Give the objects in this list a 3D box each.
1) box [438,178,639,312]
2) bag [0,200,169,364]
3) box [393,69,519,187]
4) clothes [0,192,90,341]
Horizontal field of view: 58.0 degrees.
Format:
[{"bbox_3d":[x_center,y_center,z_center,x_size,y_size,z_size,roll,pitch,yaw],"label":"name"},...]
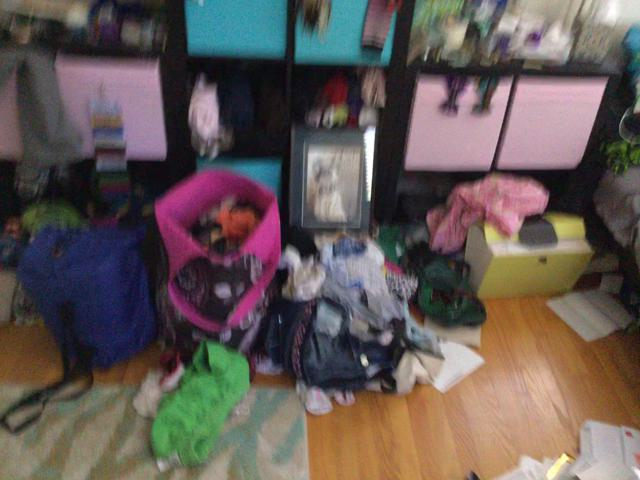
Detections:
[{"bbox_3d":[0.810,0.020,2.140,0.620,0.350,0.290,4,33,-5],"label":"box"},{"bbox_3d":[-0.700,0.130,1.800,0.390,0.380,0.300,4,33,-5],"label":"bag"},{"bbox_3d":[0.470,-0.390,2.040,0.360,0.370,0.080,4,23,-5],"label":"box"},{"bbox_3d":[-1.190,0.060,2.000,0.580,0.200,0.570,4,33,-5],"label":"clothes"}]
